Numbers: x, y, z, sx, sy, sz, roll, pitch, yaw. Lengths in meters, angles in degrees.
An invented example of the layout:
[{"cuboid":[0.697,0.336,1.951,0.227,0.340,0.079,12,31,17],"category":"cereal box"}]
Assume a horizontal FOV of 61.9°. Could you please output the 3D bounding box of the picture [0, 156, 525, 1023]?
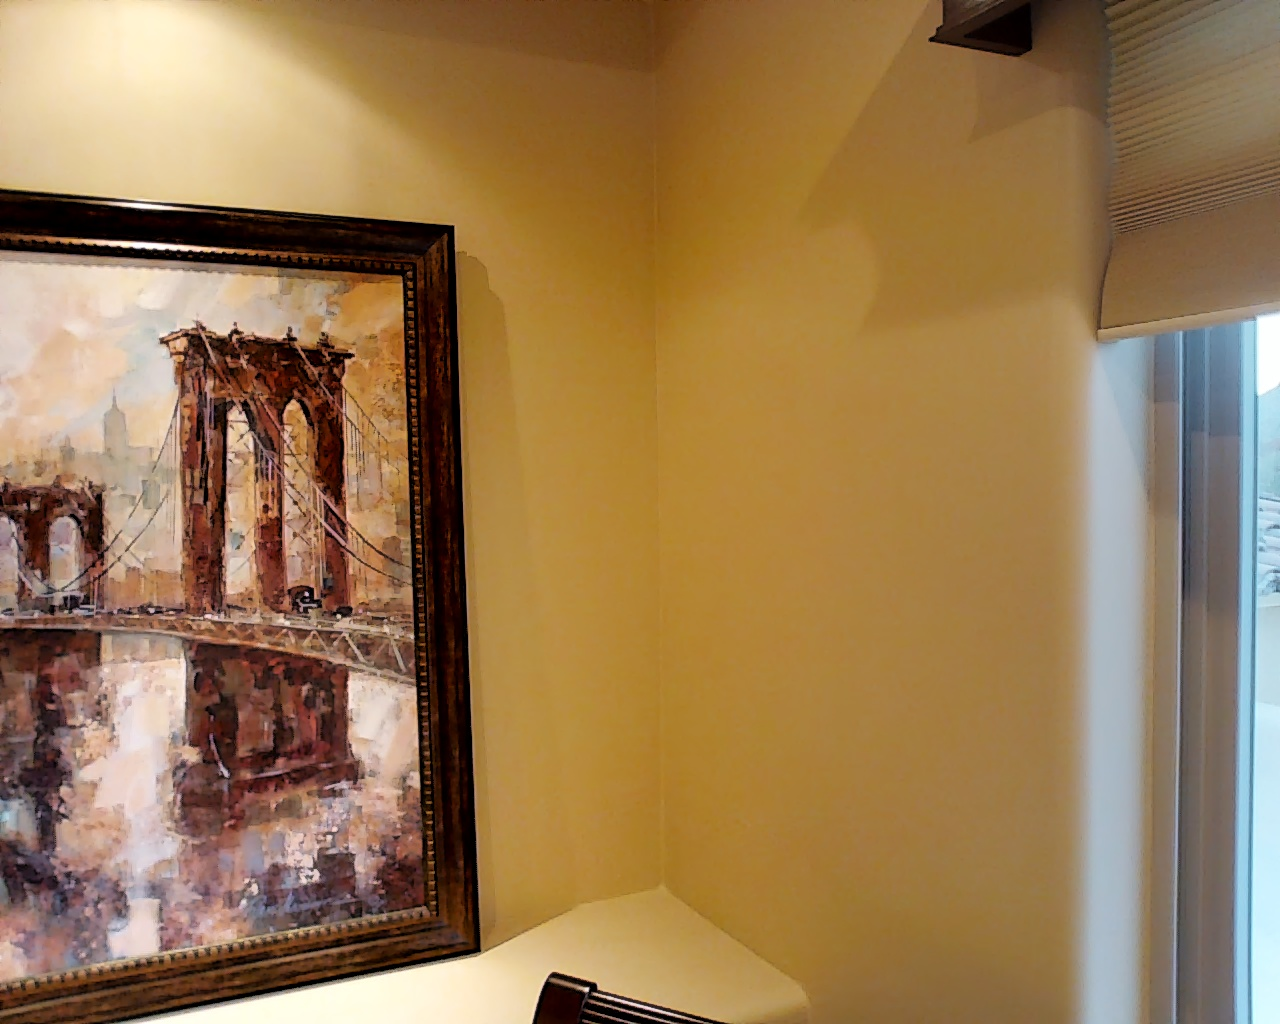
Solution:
[{"cuboid":[-0.670,0.130,1.520,1.000,1.170,0.150,-2,6,-25],"category":"picture"}]
